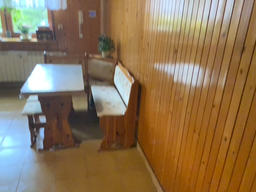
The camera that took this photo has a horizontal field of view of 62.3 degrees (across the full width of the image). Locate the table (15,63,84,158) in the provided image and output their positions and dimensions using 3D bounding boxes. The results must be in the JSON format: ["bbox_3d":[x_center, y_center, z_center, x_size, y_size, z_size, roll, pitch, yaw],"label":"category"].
[{"bbox_3d":[-0.880,0.100,2.680,0.620,0.770,1.080,-1,23,-11],"label":"table"}]

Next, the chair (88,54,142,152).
[{"bbox_3d":[-0.280,-0.030,3.010,0.470,0.820,1.500,-2,23,-14],"label":"chair"}]
